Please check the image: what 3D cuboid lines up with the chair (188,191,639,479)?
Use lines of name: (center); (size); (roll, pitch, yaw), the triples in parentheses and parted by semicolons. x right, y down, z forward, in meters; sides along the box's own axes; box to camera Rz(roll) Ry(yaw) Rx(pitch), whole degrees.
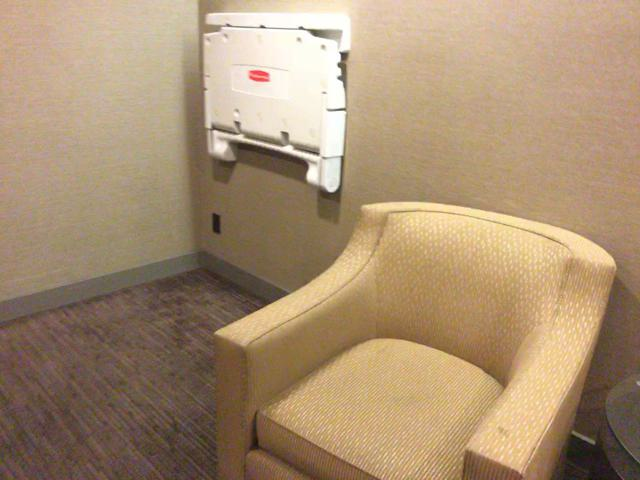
chair: (0.310, 0.400, 1.690); (0.910, 0.840, 0.980); (14, 20, 35)
